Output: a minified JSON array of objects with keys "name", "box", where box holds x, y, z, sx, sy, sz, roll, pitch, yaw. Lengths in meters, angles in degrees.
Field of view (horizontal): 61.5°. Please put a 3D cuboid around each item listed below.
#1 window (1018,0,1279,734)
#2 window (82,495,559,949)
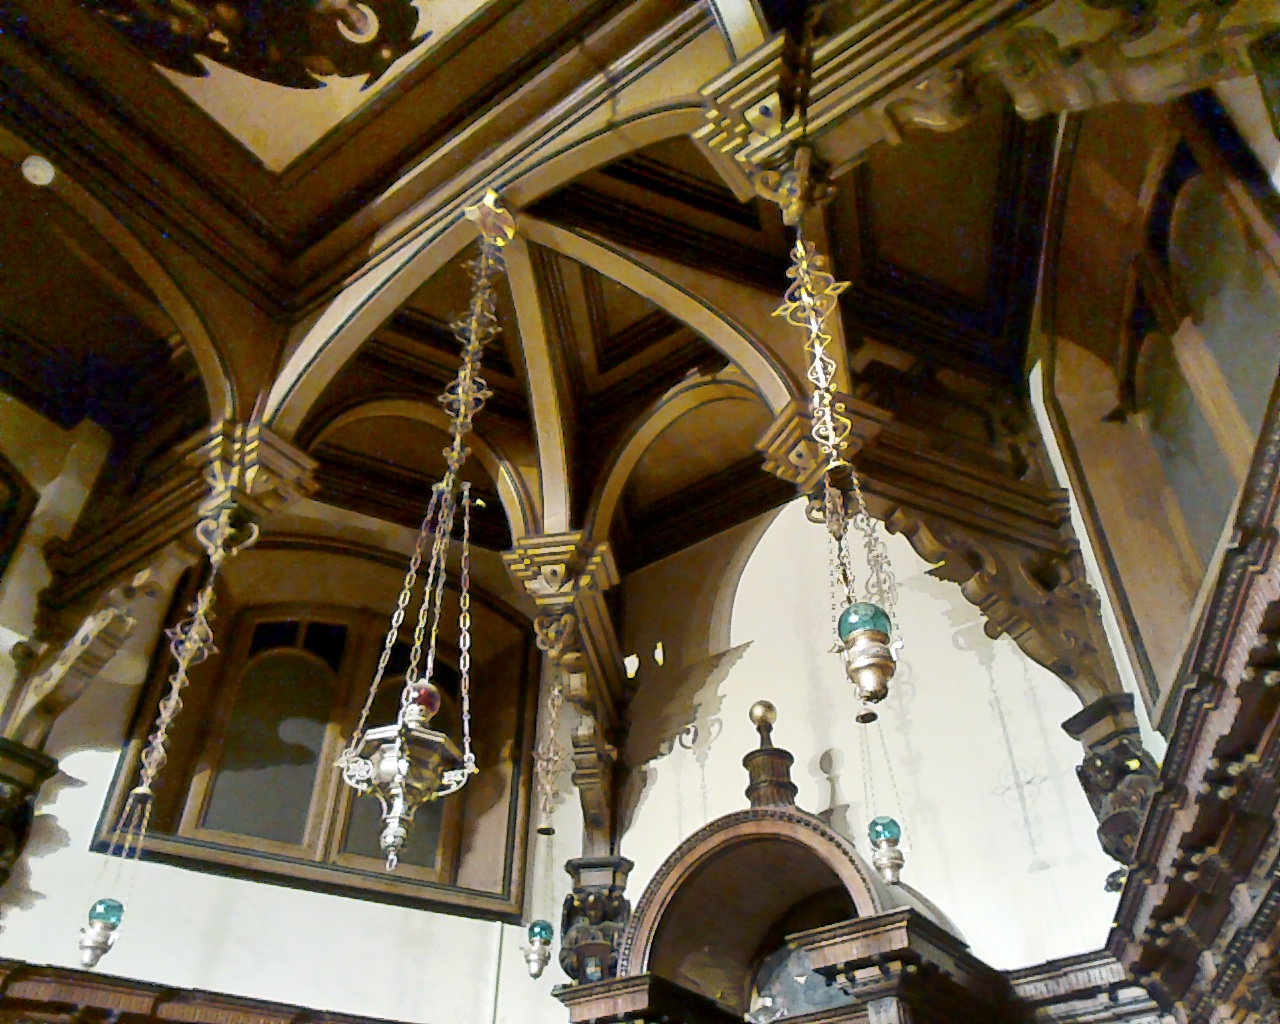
[{"name":"window","box":[1.470,-0.560,3.270,0.220,1.830,1.680,-10,-42,11]},{"name":"window","box":[-1.240,0.900,4.770,1.760,1.670,0.200,21,-45,-22]}]
